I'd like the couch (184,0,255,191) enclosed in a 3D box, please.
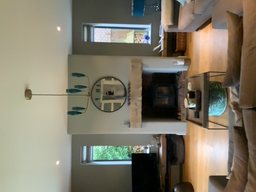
[{"bbox_3d":[1.120,0.110,1.760,1.290,0.840,2.100,-159,70,-85],"label":"couch"}]

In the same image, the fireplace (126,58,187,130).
[{"bbox_3d":[0.640,-0.050,5.220,0.930,1.280,1.580,-165,76,-85],"label":"fireplace"}]

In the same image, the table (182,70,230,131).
[{"bbox_3d":[1.210,0.050,3.410,0.800,0.410,0.860,-159,70,-85],"label":"table"}]
